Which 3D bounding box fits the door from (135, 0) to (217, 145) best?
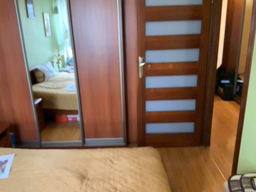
[{"bbox_3d":[0.540,-0.350,2.550,0.880,2.040,0.090,-2,18,0],"label":"door"}]
